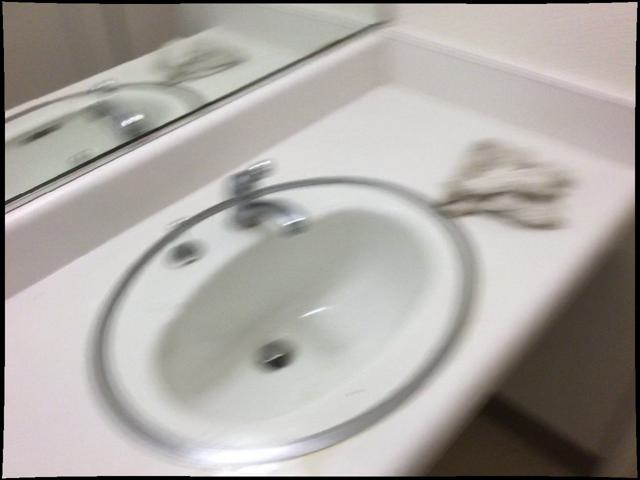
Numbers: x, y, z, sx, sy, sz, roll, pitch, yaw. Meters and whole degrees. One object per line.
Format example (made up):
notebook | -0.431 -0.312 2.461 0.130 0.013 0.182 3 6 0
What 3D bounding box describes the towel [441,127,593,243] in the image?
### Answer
towel | 0.299 -0.090 0.880 0.160 0.050 0.160 28 52 31
